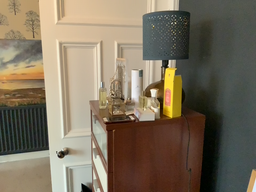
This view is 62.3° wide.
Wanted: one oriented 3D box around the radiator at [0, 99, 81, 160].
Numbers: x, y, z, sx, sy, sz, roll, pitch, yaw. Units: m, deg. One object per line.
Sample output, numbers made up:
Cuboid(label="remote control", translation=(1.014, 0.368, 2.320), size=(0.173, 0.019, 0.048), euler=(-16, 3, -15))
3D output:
Cuboid(label="radiator", translation=(-1.290, 0.470, 3.070), size=(1.160, 0.770, 0.150), euler=(-3, 12, -15))

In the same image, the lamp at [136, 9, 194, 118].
Cuboid(label="lamp", translation=(0.180, -0.160, 1.100), size=(0.220, 0.500, 0.170), euler=(-4, 12, -20))
